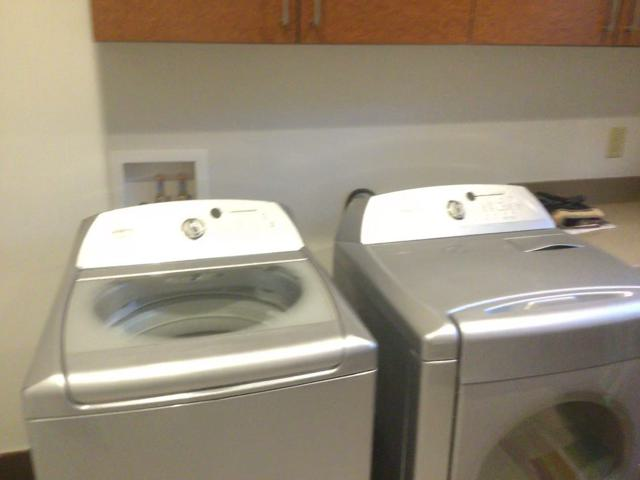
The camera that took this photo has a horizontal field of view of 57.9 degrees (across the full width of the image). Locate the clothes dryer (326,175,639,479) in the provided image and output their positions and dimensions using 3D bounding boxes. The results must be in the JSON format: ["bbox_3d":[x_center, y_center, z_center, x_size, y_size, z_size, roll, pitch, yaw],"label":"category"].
[{"bbox_3d":[0.470,0.430,1.690,0.730,1.080,0.710,-5,18,-16],"label":"clothes dryer"}]

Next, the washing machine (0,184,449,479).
[{"bbox_3d":[-0.240,0.490,1.500,0.820,1.100,0.700,-5,18,-16],"label":"washing machine"}]

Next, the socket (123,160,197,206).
[{"bbox_3d":[-0.500,-0.180,1.810,0.210,0.110,0.120,-5,18,-16],"label":"socket"}]
